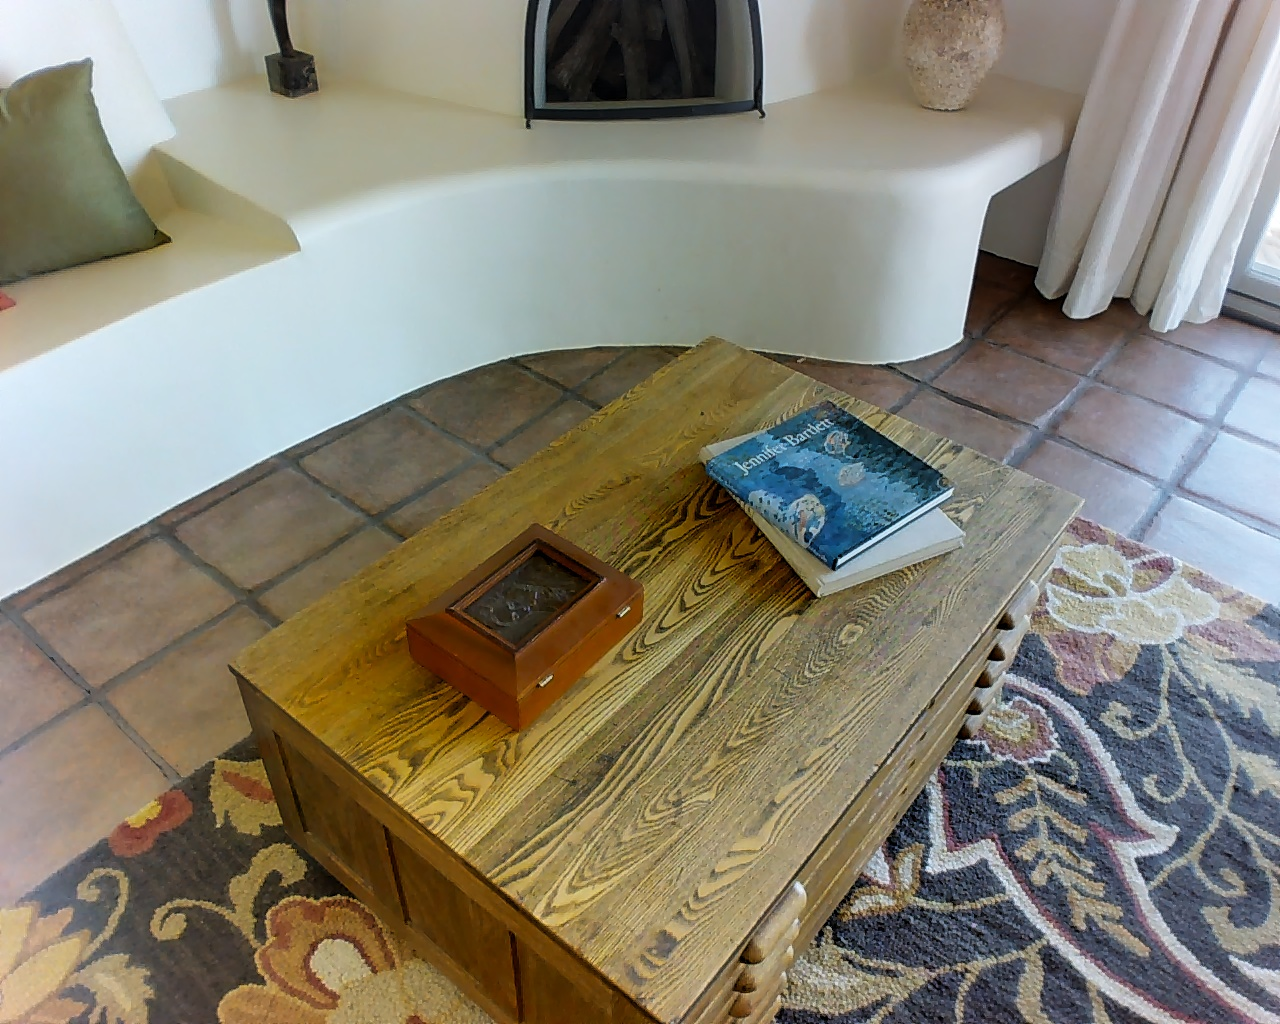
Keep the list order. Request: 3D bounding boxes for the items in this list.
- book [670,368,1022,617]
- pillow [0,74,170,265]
[{"bbox_3d":[0.300,-0.050,1.610,0.340,0.060,0.390,-24,47,-27],"label":"book"},{"bbox_3d":[-1.220,-0.700,2.180,0.430,0.330,0.260,-7,26,-31],"label":"pillow"}]
